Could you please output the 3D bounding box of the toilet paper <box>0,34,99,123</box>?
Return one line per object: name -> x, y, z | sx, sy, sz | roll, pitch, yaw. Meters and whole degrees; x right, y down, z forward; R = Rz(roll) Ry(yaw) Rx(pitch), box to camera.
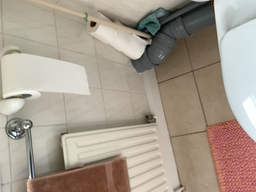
toilet paper -> -0.250, -0.040, 0.700 | 0.080, 0.310, 0.230 | -17, 77, 36
